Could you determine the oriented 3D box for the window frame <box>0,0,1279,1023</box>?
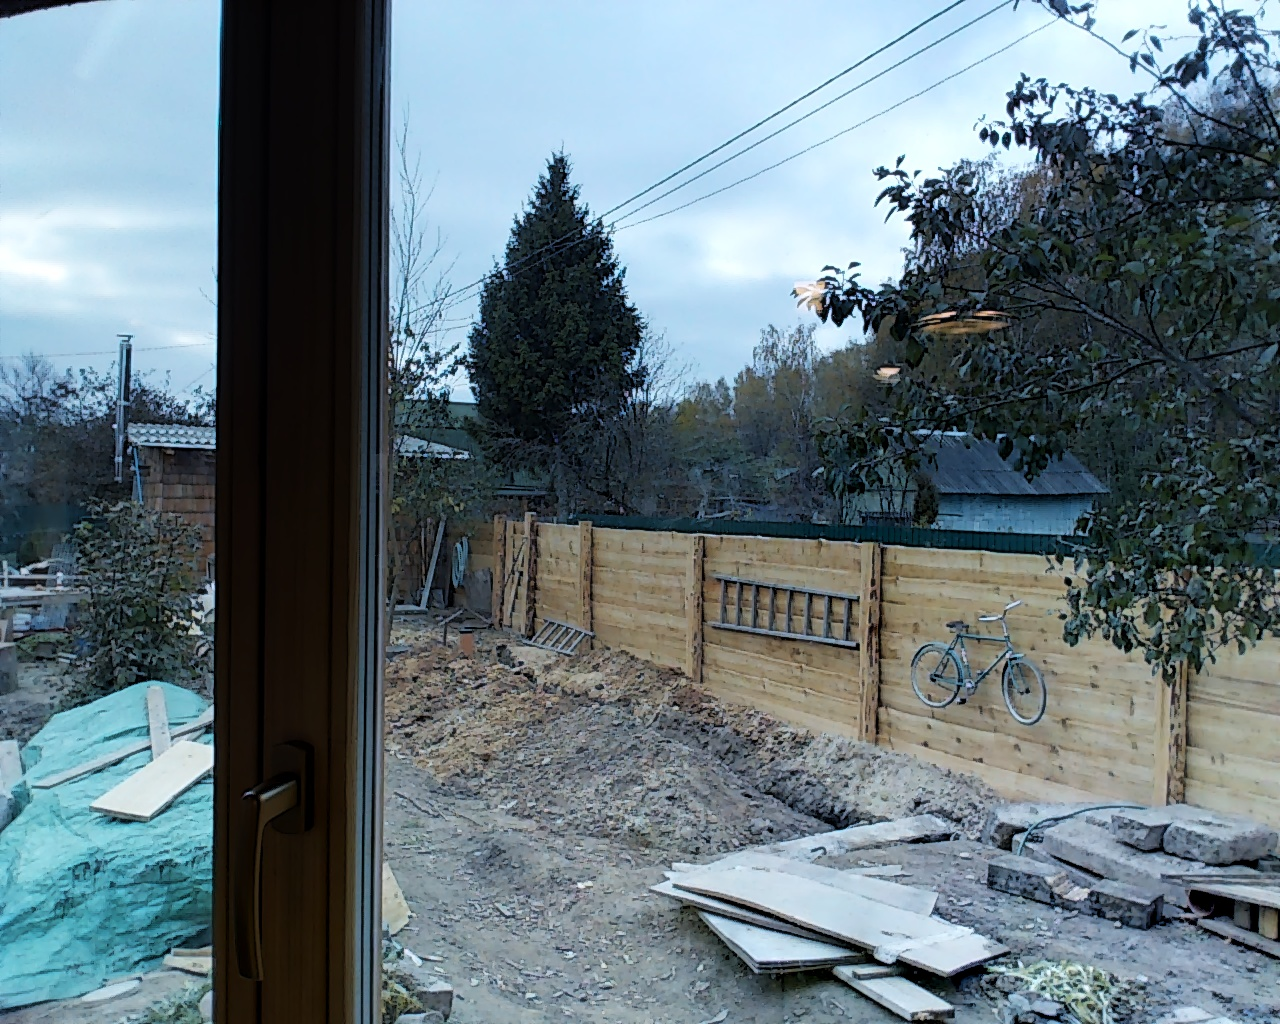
[{"bbox_3d":[-0.260,0.020,0.680,1.660,1.480,0.300,1,0,16],"label":"window frame"}]
